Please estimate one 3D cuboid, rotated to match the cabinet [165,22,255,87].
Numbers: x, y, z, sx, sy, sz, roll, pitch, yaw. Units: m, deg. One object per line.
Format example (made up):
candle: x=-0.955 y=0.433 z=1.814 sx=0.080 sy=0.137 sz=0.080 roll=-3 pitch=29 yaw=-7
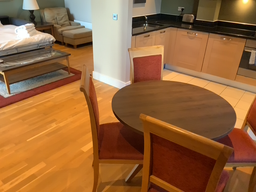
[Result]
cabinet: x=1.520 y=-0.860 z=4.080 sx=1.320 sy=0.860 sz=0.670 roll=23 pitch=34 yaw=33
